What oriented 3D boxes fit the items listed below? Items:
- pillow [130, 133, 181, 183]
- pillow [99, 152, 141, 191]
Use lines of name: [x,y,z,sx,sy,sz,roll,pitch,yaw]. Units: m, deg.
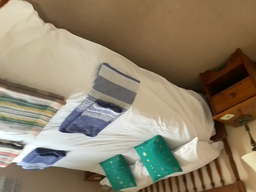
pillow: [0.260,0.600,2.050,0.310,0.350,0.170,-39,168,38]
pillow: [-0.100,0.880,2.410,0.140,0.360,0.350,-22,167,-49]
